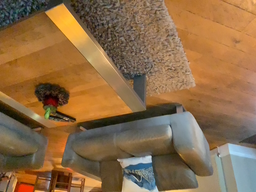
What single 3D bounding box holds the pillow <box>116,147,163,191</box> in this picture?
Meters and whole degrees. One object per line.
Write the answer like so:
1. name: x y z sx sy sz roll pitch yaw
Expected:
1. pillow: 0.130 1.010 2.780 0.490 0.480 0.190 -32 119 3
